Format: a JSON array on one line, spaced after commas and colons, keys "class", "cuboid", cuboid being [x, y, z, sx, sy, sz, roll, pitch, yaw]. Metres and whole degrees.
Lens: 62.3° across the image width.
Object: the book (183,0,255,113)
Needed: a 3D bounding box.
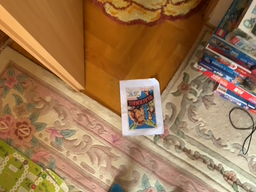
[{"class": "book", "cuboid": [0.530, -0.180, 0.840, 0.420, 0.540, 0.250, 35, 82, 6]}]
